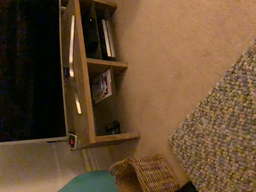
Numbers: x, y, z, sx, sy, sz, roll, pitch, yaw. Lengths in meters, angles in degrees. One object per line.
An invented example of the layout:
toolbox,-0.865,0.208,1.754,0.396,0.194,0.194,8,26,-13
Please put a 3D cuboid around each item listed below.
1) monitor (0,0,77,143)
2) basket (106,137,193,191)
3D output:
monitor,-0.730,-0.230,1.480,0.090,0.680,1.060,-20,73,53
basket,0.100,0.560,1.330,0.390,0.230,0.420,57,133,39
